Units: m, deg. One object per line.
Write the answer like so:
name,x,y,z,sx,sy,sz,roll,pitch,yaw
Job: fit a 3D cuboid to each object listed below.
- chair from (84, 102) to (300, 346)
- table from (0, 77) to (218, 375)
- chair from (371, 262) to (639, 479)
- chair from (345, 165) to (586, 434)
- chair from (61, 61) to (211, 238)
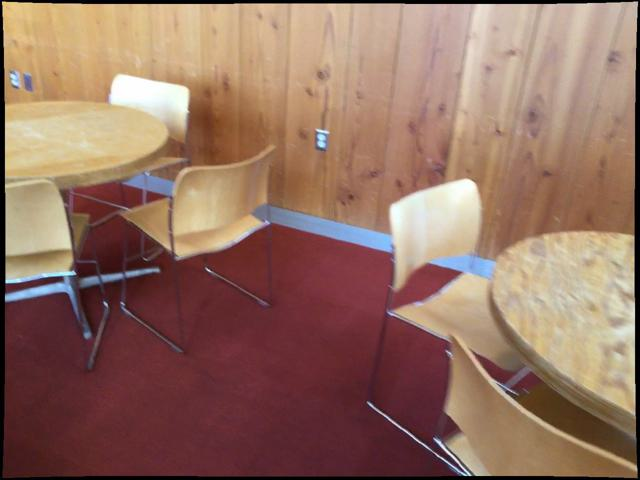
chair,-0.490,-0.100,2.320,0.550,0.691,0.560,23,34,29
table,-1.079,-0.150,2.400,0.929,0.711,0.930,16,31,19
chair,0.529,0.541,1.340,0.520,0.681,0.610,-12,34,-27
chair,0.450,0.170,1.970,0.450,0.640,0.520,-15,35,-32
chair,-0.909,-0.480,2.970,0.500,0.701,0.470,16,31,19
